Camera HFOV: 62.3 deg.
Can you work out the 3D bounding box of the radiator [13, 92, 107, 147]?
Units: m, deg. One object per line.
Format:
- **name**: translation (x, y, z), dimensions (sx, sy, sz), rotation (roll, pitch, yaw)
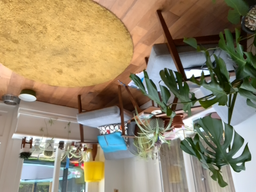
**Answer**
- **radiator**: translation (-0.900, 0.380, 3.070), dimensions (1.240, 0.560, 0.230), rotation (15, 149, -33)
